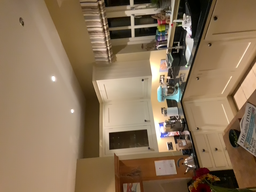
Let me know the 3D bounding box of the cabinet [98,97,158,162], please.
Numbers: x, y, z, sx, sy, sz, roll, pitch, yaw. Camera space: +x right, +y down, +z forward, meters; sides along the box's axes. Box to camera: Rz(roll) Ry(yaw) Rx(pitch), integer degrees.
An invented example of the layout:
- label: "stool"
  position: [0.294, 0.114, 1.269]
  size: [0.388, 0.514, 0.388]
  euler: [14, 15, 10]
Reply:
- label: "cabinet"
  position: [-0.030, 0.570, 3.740]
  size: [0.340, 0.950, 1.010]
  euler: [85, 180, -58]
